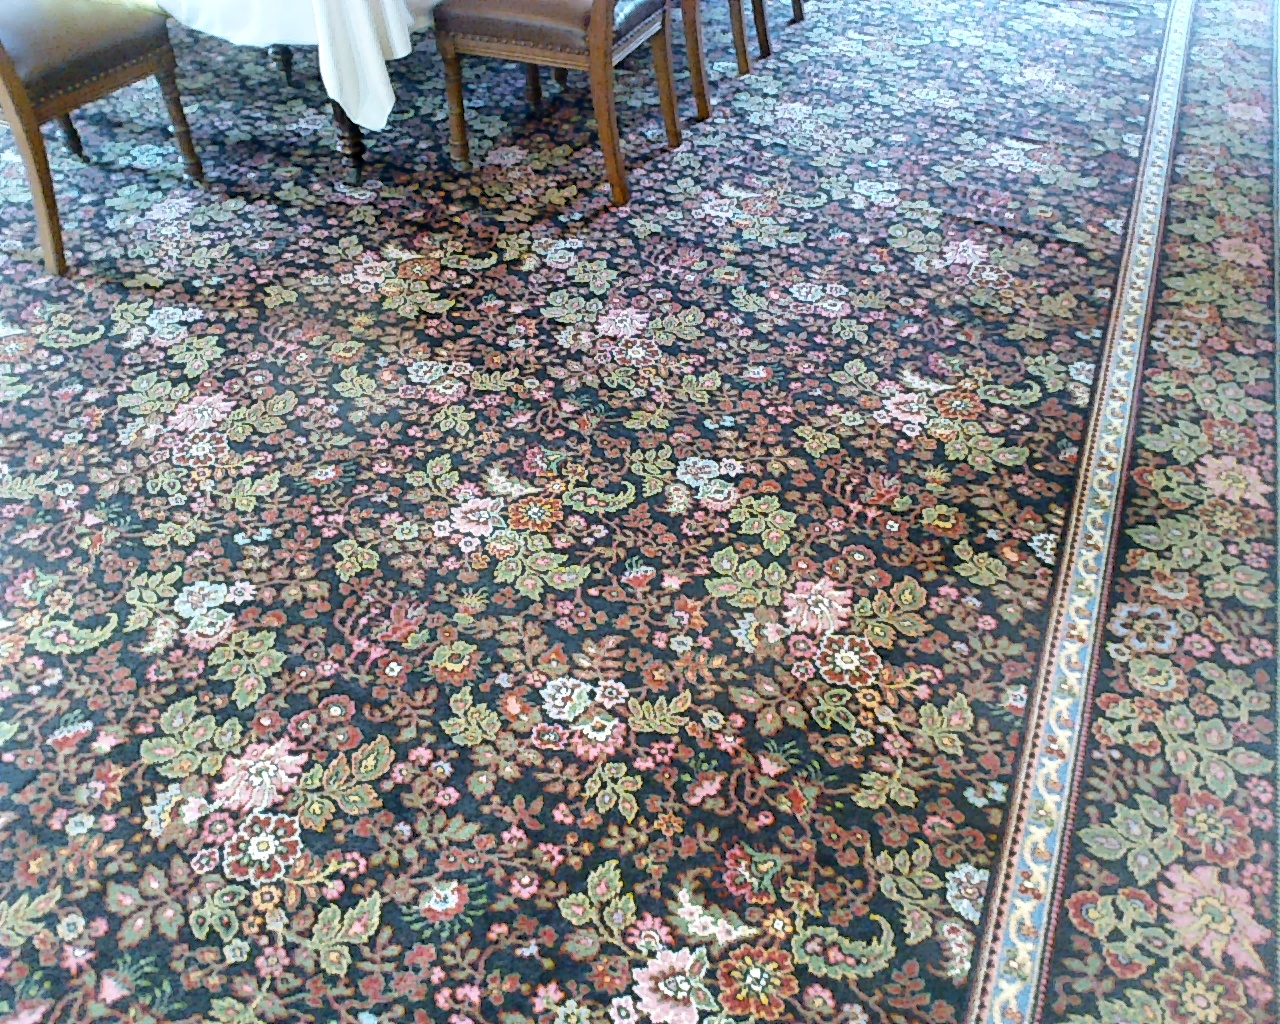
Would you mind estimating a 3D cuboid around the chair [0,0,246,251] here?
[{"bbox_3d":[-1.560,-1.310,2.670,0.590,0.980,0.690,17,46,17],"label":"chair"}]

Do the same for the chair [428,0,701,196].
[{"bbox_3d":[-0.190,-1.510,2.920,0.550,1.010,0.590,17,46,17],"label":"chair"}]
